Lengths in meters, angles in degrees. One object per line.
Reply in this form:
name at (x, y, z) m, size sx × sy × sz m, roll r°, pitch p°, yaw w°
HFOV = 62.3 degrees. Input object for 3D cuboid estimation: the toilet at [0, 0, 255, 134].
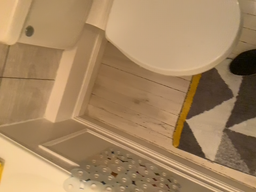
toilet at (0.040, -0.310, 0.770) m, size 0.690 × 0.780 × 0.510 m, roll 21°, pitch 98°, yaw 17°
